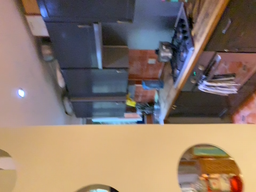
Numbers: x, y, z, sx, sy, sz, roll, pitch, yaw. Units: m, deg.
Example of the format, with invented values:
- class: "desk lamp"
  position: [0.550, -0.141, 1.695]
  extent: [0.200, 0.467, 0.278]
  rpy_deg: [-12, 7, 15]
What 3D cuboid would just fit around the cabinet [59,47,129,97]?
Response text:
- class: "cabinet"
  position: [-0.380, -0.270, 2.570]
  extent: [0.550, 0.740, 0.320]
  rpy_deg: [99, 171, -60]
